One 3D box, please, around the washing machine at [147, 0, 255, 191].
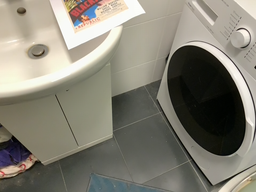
[{"bbox_3d":[0.510,-0.010,0.940,0.520,0.850,0.620,-17,61,-14],"label":"washing machine"}]
